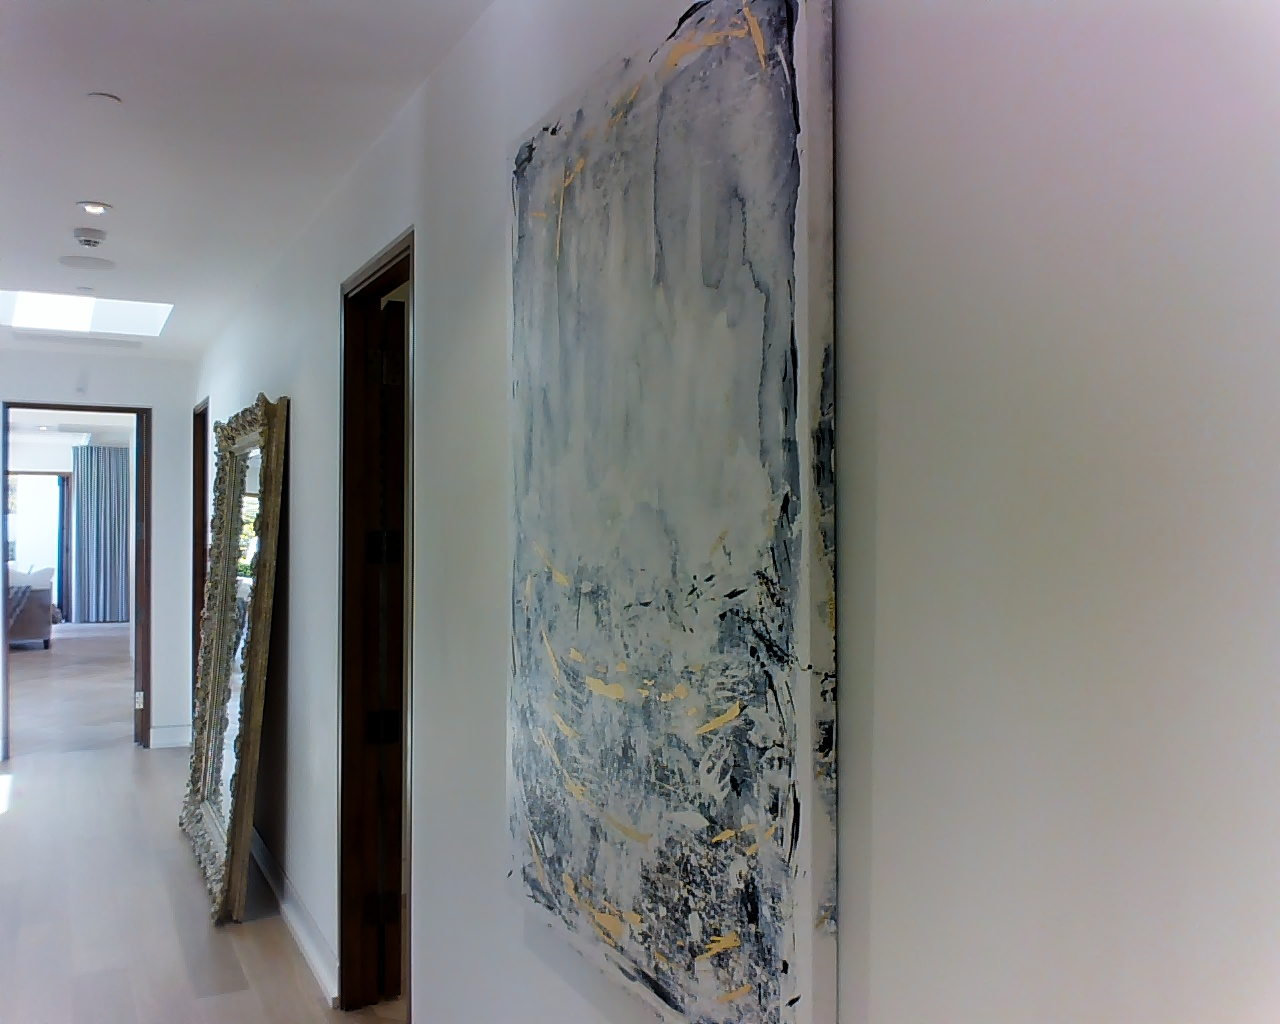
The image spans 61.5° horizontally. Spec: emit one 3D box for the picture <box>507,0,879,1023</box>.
[{"bbox_3d":[0.010,-0.010,1.710,0.050,1.570,1.020,1,0,-29],"label":"picture"}]

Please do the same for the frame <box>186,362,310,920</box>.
[{"bbox_3d":[-1.910,0.520,5.140,0.290,2.260,1.640,1,0,-29],"label":"frame"}]
